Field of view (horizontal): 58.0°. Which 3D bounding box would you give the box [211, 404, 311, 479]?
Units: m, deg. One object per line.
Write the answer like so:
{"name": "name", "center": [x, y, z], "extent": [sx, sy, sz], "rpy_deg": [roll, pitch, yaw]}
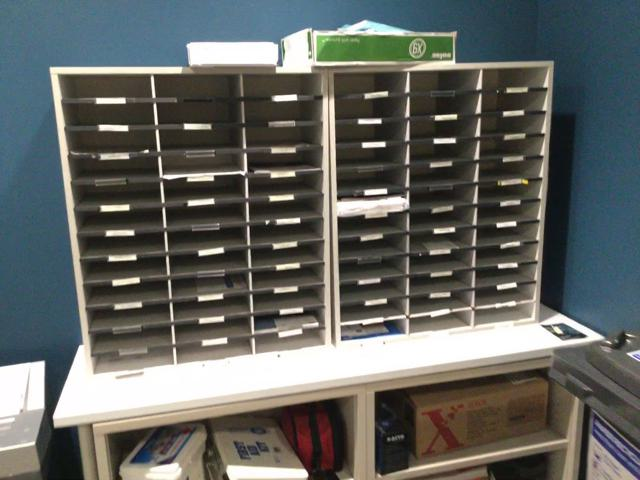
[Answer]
{"name": "box", "center": [-0.190, 0.670, 1.770], "extent": [0.250, 0.140, 0.350], "rpy_deg": [-4, 14, -14]}

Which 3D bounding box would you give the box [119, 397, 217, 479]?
{"name": "box", "center": [-0.450, 0.660, 1.740], "extent": [0.250, 0.180, 0.370], "rpy_deg": [-4, 14, -14]}

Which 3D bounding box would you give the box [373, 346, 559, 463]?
{"name": "box", "center": [0.490, 0.550, 2.000], "extent": [0.540, 0.200, 0.300], "rpy_deg": [-4, 14, -14]}
